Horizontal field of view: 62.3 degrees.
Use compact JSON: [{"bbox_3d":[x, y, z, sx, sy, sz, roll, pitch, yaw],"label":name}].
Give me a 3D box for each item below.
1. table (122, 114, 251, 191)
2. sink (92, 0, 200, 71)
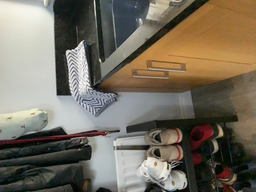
[{"bbox_3d":[0.370,0.630,1.260,0.370,0.620,0.970,-24,70,60],"label":"table"},{"bbox_3d":[0.030,-0.370,0.890,0.430,0.210,0.410,-24,69,60],"label":"sink"}]
